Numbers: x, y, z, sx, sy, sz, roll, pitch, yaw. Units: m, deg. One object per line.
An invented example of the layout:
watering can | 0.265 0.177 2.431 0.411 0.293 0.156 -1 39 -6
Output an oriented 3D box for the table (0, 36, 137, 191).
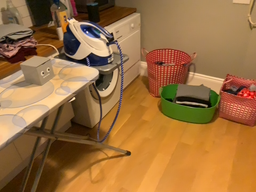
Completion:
table | -0.560 0.360 1.260 0.520 0.900 1.550 18 40 26

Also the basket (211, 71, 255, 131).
basket | 1.110 0.030 2.110 0.380 0.340 0.410 19 40 28

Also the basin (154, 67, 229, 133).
basin | 0.640 0.010 2.170 0.570 0.330 0.470 19 40 28

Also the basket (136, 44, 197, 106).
basket | 0.440 -0.270 2.480 0.540 0.460 0.450 18 40 27
